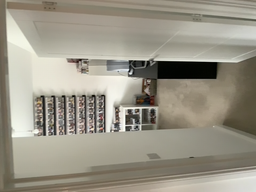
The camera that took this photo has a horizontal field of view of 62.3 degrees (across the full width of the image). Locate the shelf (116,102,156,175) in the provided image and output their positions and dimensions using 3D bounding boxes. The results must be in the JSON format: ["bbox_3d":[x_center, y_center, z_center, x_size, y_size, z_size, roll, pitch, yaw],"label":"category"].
[{"bbox_3d":[0.160,0.890,4.600,0.400,0.750,1.440,-152,62,-74],"label":"shelf"}]

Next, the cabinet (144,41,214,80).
[{"bbox_3d":[0.660,-0.500,3.200,1.460,0.390,0.440,-153,63,-75],"label":"cabinet"}]

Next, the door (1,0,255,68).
[{"bbox_3d":[0.280,-0.400,1.630,0.780,2.010,0.120,147,121,-74],"label":"door"}]
